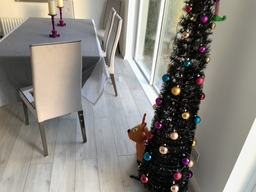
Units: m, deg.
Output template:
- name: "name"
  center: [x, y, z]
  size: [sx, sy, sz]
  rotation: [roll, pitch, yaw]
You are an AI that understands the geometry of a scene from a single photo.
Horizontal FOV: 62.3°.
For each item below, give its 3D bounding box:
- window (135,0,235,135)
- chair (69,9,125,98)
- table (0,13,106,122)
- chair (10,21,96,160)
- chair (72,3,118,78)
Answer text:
- name: "window"
  center: [0.540, -1.020, 3.030]
  size: [0.120, 1.930, 2.520]
  rotation: [-2, 30, -12]
- name: "chair"
  center: [-0.430, -0.560, 2.850]
  size: [0.630, 1.040, 0.480]
  rotation: [-2, 30, -12]
- name: "table"
  center: [-0.970, -0.570, 3.030]
  size: [1.110, 0.800, 1.970]
  rotation: [-1, 30, -11]
- name: "chair"
  center: [-0.670, -0.080, 1.980]
  size: [0.510, 1.050, 0.630]
  rotation: [-14, 34, -30]
- name: "chair"
  center: [-0.530, -0.860, 3.360]
  size: [0.630, 1.040, 0.480]
  rotation: [-2, 30, -12]
